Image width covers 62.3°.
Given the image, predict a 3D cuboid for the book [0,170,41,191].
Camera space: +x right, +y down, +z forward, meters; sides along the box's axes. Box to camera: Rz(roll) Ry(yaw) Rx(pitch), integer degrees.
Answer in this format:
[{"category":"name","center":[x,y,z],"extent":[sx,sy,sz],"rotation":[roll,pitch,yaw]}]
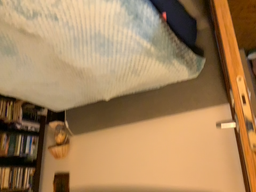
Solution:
[{"category":"book","center":[-1.400,0.900,2.240],"extent":[0.240,0.210,0.870],"rotation":[-17,155,37]}]

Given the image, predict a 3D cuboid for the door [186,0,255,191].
[{"category":"door","center":[0.420,0.030,0.900],"extent":[0.110,2.150,0.690],"rotation":[-12,158,26]}]
